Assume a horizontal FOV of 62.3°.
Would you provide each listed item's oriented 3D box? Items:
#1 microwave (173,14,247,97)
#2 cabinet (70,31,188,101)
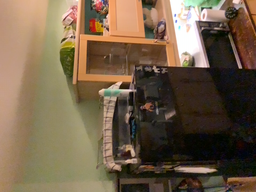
[{"bbox_3d":[0.630,-0.310,1.740,0.400,0.330,0.520,111,158,-65],"label":"microwave"},{"bbox_3d":[-0.010,-0.220,1.690,0.320,0.820,0.420,109,159,-64],"label":"cabinet"}]
